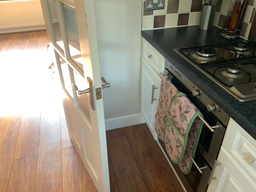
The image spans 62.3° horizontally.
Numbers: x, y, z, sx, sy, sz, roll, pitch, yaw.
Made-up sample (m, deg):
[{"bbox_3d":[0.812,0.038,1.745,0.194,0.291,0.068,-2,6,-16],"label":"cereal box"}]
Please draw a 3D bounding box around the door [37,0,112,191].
[{"bbox_3d":[-0.320,-0.190,1.140,0.120,1.920,0.810,-15,36,-21],"label":"door"}]

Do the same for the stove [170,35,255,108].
[{"bbox_3d":[0.640,-0.180,1.080,0.640,0.030,0.610,-9,34,-13],"label":"stove"}]
